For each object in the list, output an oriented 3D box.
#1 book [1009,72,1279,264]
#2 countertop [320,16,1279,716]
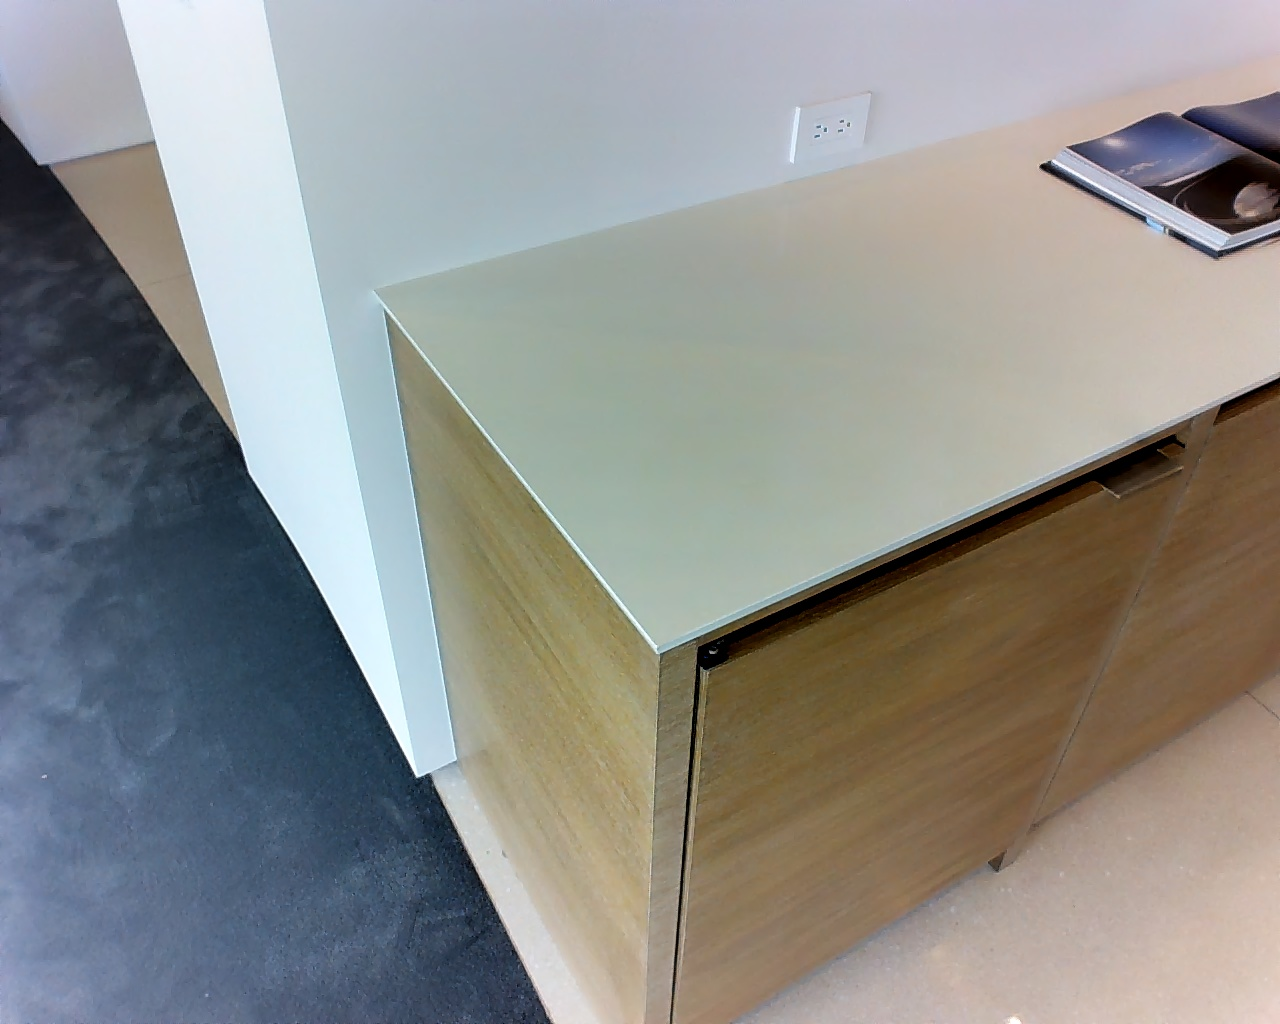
[{"bbox_3d":[0.840,-0.500,1.510,0.510,0.040,0.360,-20,46,-22],"label":"book"},{"bbox_3d":[0.920,-0.510,1.570,2.580,0.040,0.770,-21,46,-24],"label":"countertop"}]
